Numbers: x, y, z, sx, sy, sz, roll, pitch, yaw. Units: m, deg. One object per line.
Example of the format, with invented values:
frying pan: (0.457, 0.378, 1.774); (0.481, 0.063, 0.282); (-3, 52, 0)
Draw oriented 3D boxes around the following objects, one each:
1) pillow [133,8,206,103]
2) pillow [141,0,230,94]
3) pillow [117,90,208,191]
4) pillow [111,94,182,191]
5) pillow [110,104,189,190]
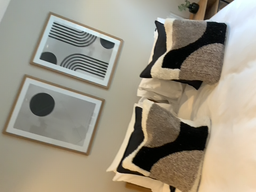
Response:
pillow: (0.370, -0.330, 1.870); (0.250, 0.400, 0.680); (-7, 63, 66)
pillow: (0.420, -0.320, 1.520); (0.350, 0.420, 0.460); (-4, 64, 52)
pillow: (0.230, 0.280, 1.300); (0.210, 0.450, 0.470); (-18, 53, 56)
pillow: (0.160, 0.390, 1.740); (0.230, 0.400, 0.680); (135, 151, -68)
pillow: (0.170, 0.370, 1.540); (0.240, 0.430, 0.470); (-19, 51, 58)
